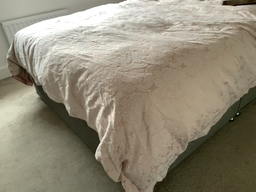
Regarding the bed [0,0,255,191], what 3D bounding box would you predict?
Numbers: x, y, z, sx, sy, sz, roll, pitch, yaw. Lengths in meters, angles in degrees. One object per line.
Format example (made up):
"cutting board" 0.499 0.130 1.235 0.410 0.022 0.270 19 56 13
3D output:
"bed" 0.340 -0.410 1.930 2.190 0.760 1.670 -27 40 -31
